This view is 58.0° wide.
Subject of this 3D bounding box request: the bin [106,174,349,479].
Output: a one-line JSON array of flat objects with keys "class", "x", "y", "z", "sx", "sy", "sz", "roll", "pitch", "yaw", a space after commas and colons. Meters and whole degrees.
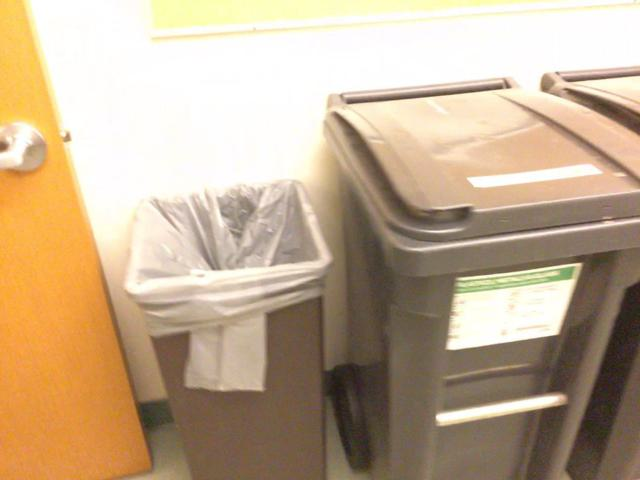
[{"class": "bin", "x": -0.170, "y": 0.280, "z": 1.310, "sx": 0.390, "sy": 0.720, "sz": 0.390, "roll": -7, "pitch": 30, "yaw": -7}]
